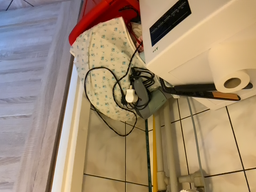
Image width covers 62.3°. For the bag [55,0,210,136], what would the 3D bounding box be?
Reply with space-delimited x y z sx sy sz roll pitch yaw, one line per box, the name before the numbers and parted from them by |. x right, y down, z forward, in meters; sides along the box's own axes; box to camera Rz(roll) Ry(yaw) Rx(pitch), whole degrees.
bag | 0.030 -0.060 0.860 0.360 0.240 0.470 -27 139 37
